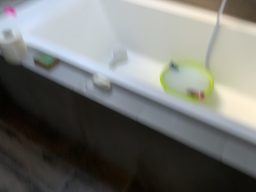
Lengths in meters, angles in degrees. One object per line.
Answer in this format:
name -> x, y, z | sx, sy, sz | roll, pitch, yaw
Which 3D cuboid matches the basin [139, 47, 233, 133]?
basin -> 0.350, -0.060, 1.320 | 0.400, 0.200, 0.390 | 30, 54, 23
